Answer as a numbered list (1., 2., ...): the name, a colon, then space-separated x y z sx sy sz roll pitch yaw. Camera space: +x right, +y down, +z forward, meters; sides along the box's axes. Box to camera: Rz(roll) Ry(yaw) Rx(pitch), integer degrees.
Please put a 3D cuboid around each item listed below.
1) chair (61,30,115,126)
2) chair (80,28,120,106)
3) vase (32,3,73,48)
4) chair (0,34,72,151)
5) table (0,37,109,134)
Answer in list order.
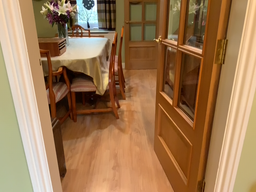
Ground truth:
1. chair: -0.400 -0.210 2.400 0.470 0.980 0.470 -1 22 -1
2. chair: -0.350 -0.410 2.920 0.440 0.980 0.470 -1 22 -1
3. vase: -0.940 -0.900 2.710 0.360 0.510 0.300 -2 22 -3
4. chair: -0.860 -0.050 2.010 0.490 0.980 0.460 -3 22 -7
5. table: -0.910 -0.310 2.950 1.110 0.780 1.850 0 22 -1
